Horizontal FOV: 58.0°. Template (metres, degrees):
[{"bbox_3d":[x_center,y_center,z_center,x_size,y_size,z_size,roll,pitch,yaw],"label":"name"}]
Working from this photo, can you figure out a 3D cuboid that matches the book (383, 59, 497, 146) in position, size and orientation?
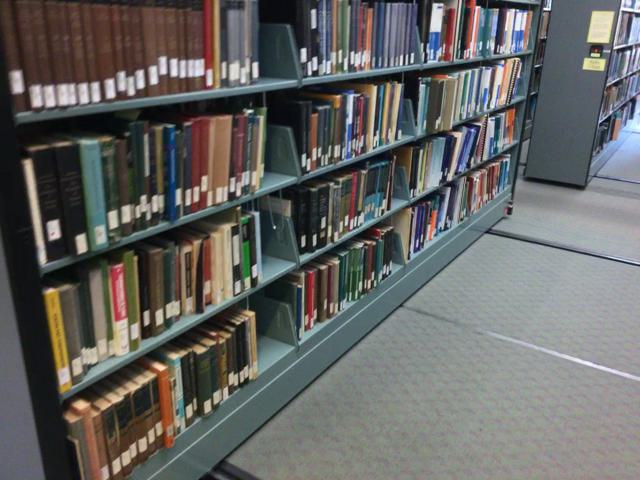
[{"bbox_3d":[0.610,-0.700,2.830,0.230,0.320,0.850,13,23,30],"label":"book"}]

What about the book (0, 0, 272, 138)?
[{"bbox_3d":[-0.410,-0.450,1.340,0.180,0.300,0.750,13,23,30],"label":"book"}]

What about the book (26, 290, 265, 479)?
[{"bbox_3d":[-0.430,0.410,1.620,0.160,0.280,0.690,13,23,30],"label":"book"}]

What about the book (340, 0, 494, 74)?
[{"bbox_3d":[0.490,-0.970,2.630,0.230,0.340,1.170,13,23,30],"label":"book"}]

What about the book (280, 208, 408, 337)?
[{"bbox_3d":[0.130,0.100,2.410,0.120,0.250,0.840,13,23,30],"label":"book"}]

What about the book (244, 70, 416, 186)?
[{"bbox_3d":[0.080,-0.460,2.190,0.210,0.300,0.880,13,23,30],"label":"book"}]

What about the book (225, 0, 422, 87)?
[{"bbox_3d":[0.060,-0.740,2.110,0.280,0.270,0.890,13,23,30],"label":"book"}]

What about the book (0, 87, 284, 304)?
[{"bbox_3d":[-0.410,-0.170,1.460,0.210,0.350,0.790,13,23,30],"label":"book"}]

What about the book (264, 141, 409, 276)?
[{"bbox_3d":[0.100,-0.160,2.270,0.130,0.310,0.870,13,23,30],"label":"book"}]

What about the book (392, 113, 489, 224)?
[{"bbox_3d":[0.640,-0.400,2.940,0.100,0.370,1.020,13,23,30],"label":"book"}]
